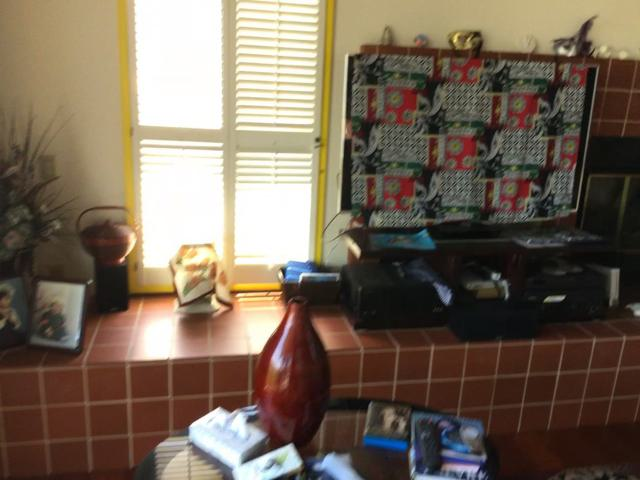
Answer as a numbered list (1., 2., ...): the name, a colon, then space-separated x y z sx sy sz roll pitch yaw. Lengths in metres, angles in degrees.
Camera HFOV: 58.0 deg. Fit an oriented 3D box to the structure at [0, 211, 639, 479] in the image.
1. structure: 0.590 0.490 2.750 4.410 0.940 0.750 -6 10 -9
